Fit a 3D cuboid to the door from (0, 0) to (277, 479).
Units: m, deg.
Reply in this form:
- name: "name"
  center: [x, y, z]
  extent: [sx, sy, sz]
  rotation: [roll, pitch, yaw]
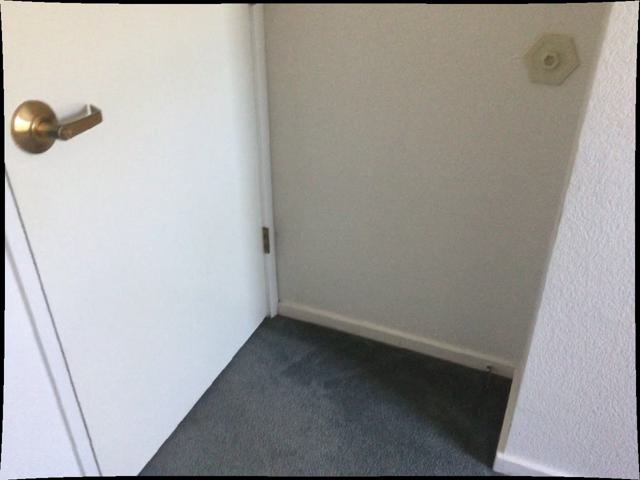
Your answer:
- name: "door"
  center: [-0.339, -0.411, 1.170]
  extent: [0.090, 2.143, 0.970]
  rotation: [13, 31, 18]
